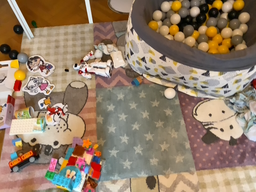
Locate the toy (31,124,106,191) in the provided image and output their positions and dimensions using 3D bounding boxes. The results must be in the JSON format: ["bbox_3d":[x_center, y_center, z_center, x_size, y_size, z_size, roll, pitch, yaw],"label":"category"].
[{"bbox_3d":[-0.260,0.330,0.990,0.250,0.330,0.250,-10,63,-7],"label":"toy"}]

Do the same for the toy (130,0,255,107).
[{"bbox_3d":[0.430,-0.420,1.370,0.800,0.440,0.880,0,62,-2],"label":"toy"}]
